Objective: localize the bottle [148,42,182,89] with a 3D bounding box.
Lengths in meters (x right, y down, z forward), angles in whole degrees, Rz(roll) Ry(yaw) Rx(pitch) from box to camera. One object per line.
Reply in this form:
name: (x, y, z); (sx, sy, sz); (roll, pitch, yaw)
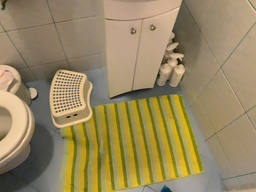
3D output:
bottle: (0.230, -0.190, 1.370); (0.120, 0.210, 0.200); (-11, 65, -9)
